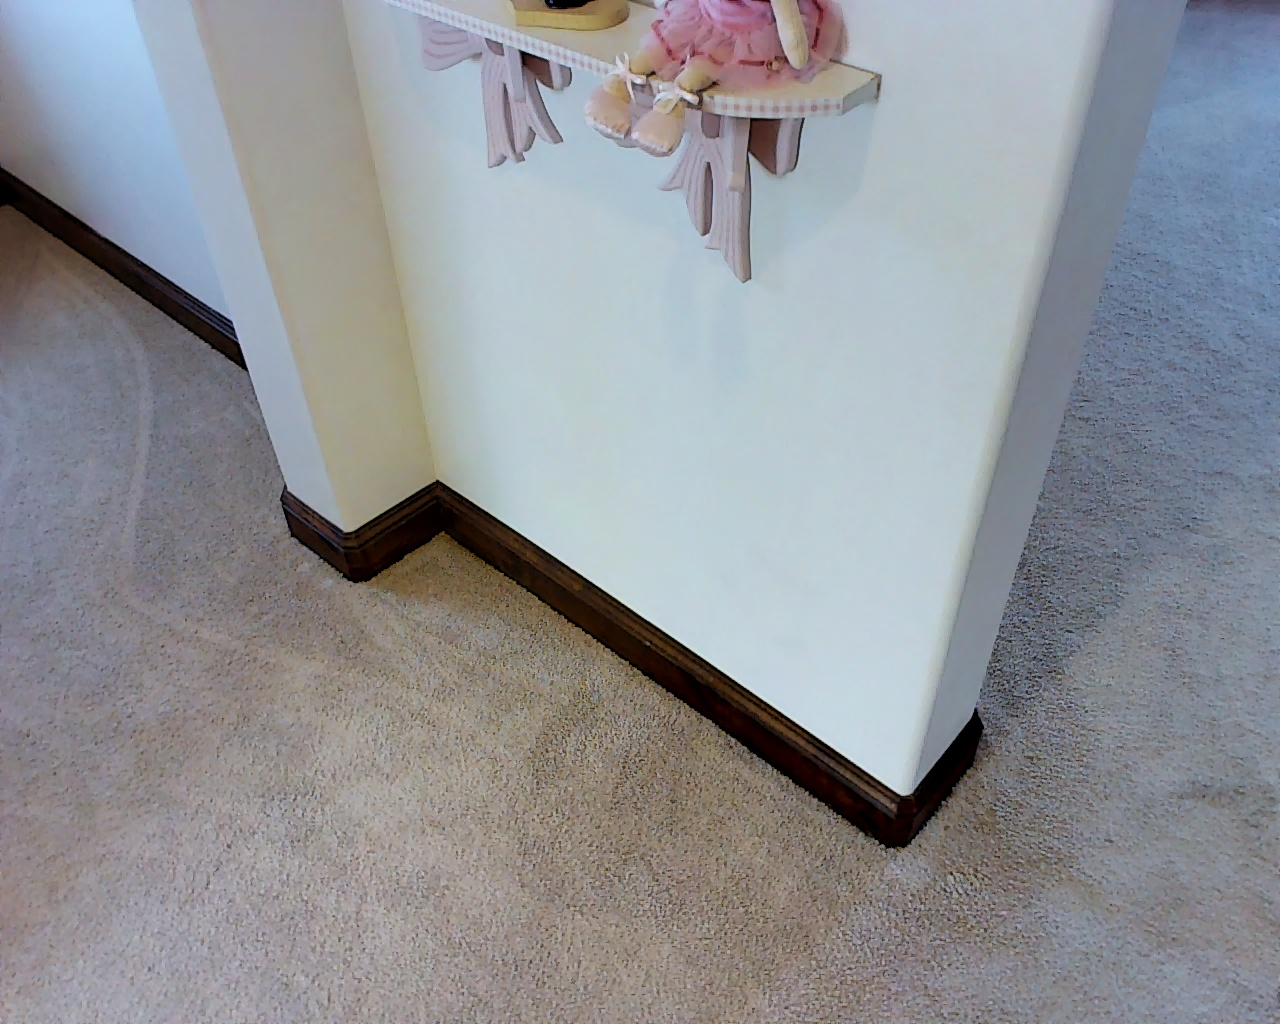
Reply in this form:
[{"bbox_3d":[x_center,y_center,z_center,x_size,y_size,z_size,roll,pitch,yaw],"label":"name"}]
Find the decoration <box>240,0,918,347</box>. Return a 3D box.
[{"bbox_3d":[-0.120,-0.560,1.160,0.800,0.430,0.250,31,52,31],"label":"decoration"}]
